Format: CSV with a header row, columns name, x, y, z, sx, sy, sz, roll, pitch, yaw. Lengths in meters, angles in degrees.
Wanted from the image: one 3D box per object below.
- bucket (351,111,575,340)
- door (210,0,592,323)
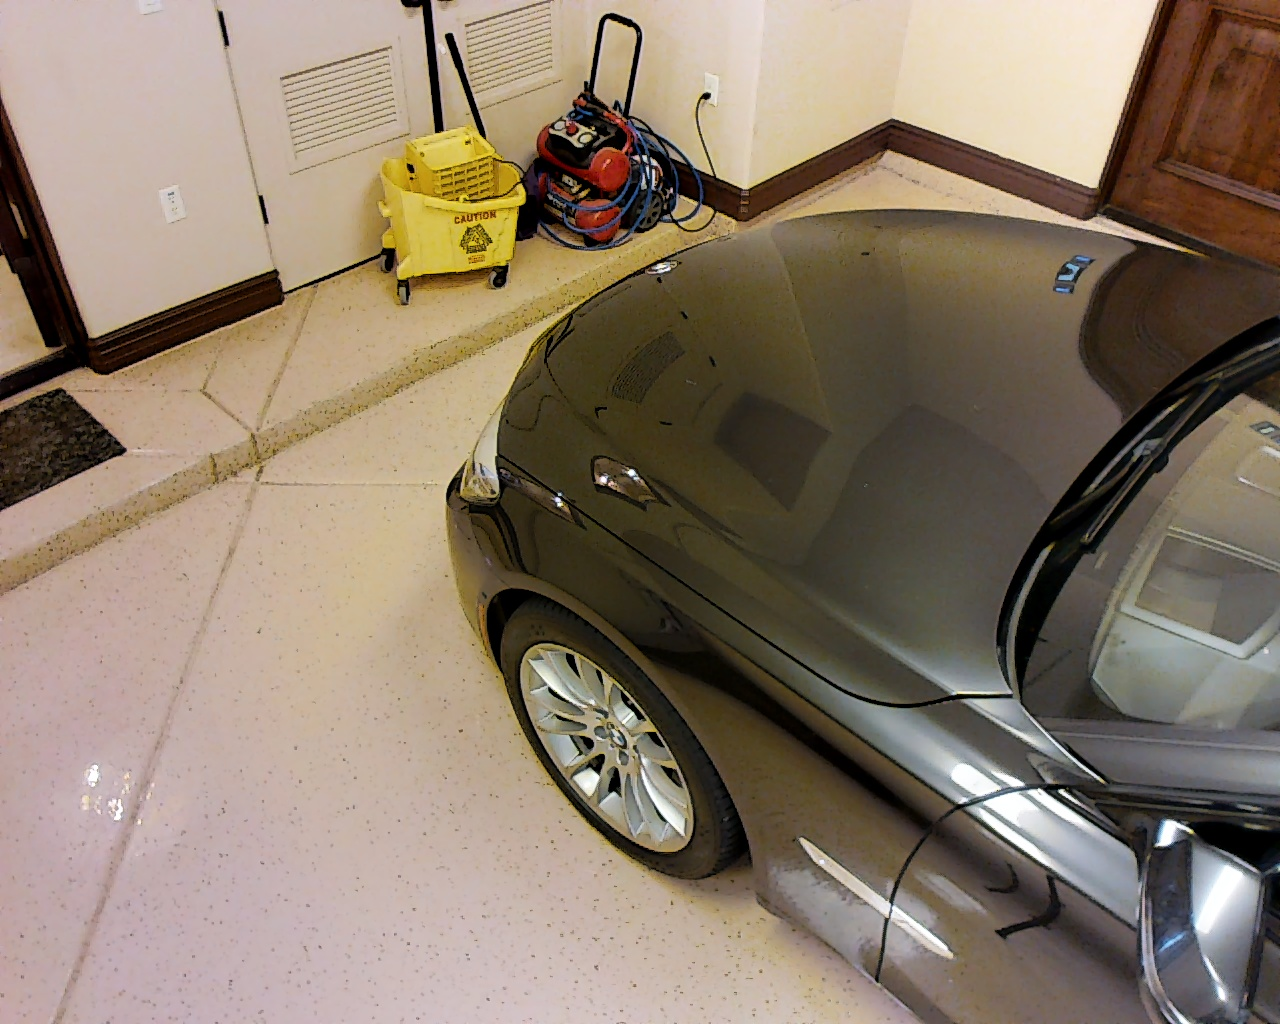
name,x,y,z,sx,sy,sz,roll,pitch,yaw
bucket,-0.630,-1.060,3.920,0.570,0.520,0.520,-30,51,-31
door,-0.730,-1.970,3.460,0.080,2.480,1.480,34,51,31
